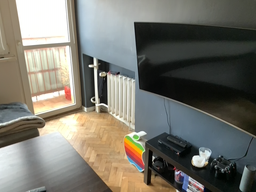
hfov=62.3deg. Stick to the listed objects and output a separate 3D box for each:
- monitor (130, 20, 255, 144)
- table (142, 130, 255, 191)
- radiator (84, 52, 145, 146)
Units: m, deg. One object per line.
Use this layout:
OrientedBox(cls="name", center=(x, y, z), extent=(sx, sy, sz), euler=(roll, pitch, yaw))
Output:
OrientedBox(cls="monitor", center=(0.450, -0.190, 1.580), extent=(0.090, 0.640, 1.110), euler=(-10, 25, -41))
OrientedBox(cls="table", center=(0.540, 0.710, 1.730), extent=(0.290, 0.450, 0.910), euler=(-16, 28, -37))
OrientedBox(cls="radiator", center=(-0.240, -0.020, 2.900), extent=(0.170, 0.970, 1.130), euler=(-15, 27, -35))
